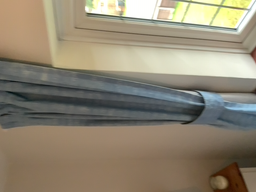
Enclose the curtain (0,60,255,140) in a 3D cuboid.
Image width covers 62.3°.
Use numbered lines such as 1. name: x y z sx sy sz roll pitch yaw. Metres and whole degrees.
1. curtain: 0.030 0.060 0.980 0.390 1.520 0.130 107 162 -52
